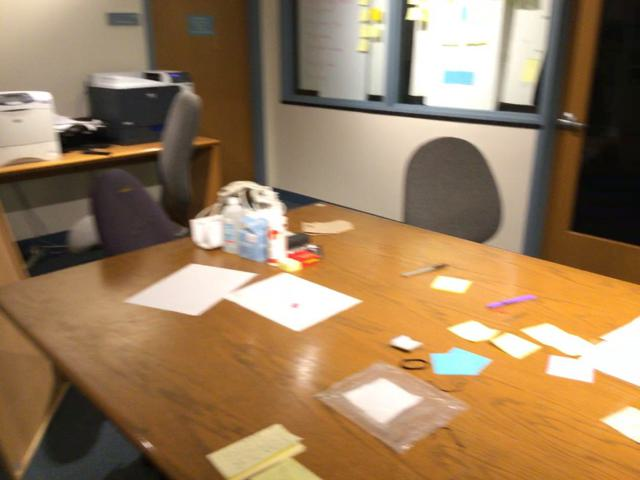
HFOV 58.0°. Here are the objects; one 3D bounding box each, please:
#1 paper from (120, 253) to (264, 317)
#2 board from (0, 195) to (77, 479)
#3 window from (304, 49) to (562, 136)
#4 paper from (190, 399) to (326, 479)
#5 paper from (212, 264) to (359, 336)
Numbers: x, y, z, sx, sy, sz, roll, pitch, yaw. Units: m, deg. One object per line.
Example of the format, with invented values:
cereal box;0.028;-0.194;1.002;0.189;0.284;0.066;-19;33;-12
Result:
paper;-0.330;0.110;1.530;0.240;0.020;0.290;11;22;27
board;-1.080;0.290;1.950;0.090;0.880;0.570;-11;27;-4
window;0.590;-1.000;3.730;0.210;0.410;1.840;-17;26;-40
paper;-0.100;0.320;0.910;0.130;0.010;0.180;-17;26;-40
paper;-0.090;0.140;1.450;0.220;0.020;0.310;-17;26;-40
